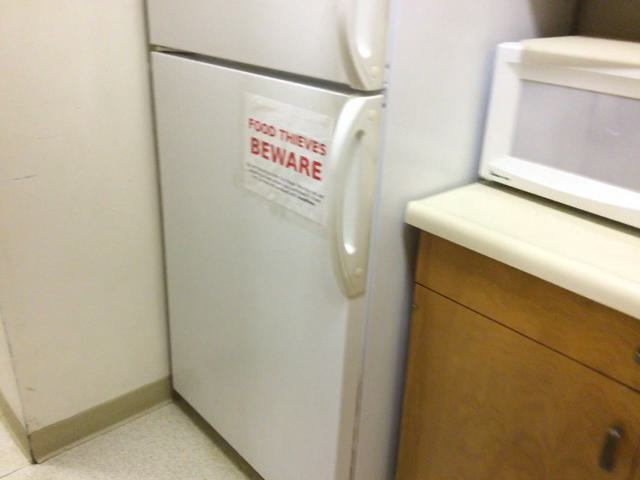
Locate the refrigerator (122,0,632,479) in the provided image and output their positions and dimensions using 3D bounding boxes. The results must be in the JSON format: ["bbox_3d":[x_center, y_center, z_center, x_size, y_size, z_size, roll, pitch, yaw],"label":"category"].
[{"bbox_3d":[0.100,-0.180,1.550,0.830,1.700,0.890,-18,30,-39],"label":"refrigerator"}]
